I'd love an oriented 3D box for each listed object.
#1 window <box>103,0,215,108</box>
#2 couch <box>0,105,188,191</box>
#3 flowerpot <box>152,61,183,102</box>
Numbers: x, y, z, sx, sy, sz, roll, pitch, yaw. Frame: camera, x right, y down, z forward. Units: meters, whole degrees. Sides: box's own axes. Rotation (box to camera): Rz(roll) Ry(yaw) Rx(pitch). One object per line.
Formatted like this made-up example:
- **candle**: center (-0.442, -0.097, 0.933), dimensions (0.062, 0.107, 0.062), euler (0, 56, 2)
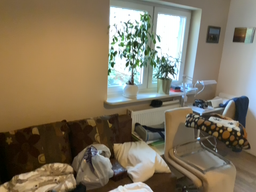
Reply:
- **window**: center (0.510, -0.580, 2.950), dimensions (1.800, 1.290, 0.120), euler (-6, 18, -34)
- **couch**: center (-0.610, 0.710, 1.780), dimensions (2.030, 0.820, 0.930), euler (-6, 18, -32)
- **flowerpot**: center (0.540, -0.210, 2.940), dimensions (0.270, 0.520, 0.250), euler (-4, 17, -26)
